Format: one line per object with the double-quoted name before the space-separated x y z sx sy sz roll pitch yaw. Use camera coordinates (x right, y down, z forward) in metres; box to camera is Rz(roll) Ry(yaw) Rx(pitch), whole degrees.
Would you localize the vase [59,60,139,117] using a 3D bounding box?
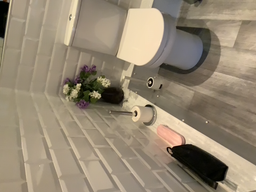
"vase" -0.240 -0.060 1.690 0.340 0.490 0.310 33 111 55
